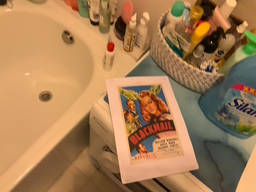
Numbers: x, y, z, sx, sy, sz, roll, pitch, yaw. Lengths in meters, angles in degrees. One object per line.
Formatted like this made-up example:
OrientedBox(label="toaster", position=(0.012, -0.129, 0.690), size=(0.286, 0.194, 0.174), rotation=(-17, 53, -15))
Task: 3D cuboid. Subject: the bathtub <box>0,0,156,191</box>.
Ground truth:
OrientedBox(label="bathtub", position=(-0.630, 0.170, 0.920), size=(0.690, 0.530, 1.470), rotation=(38, 62, 9))
